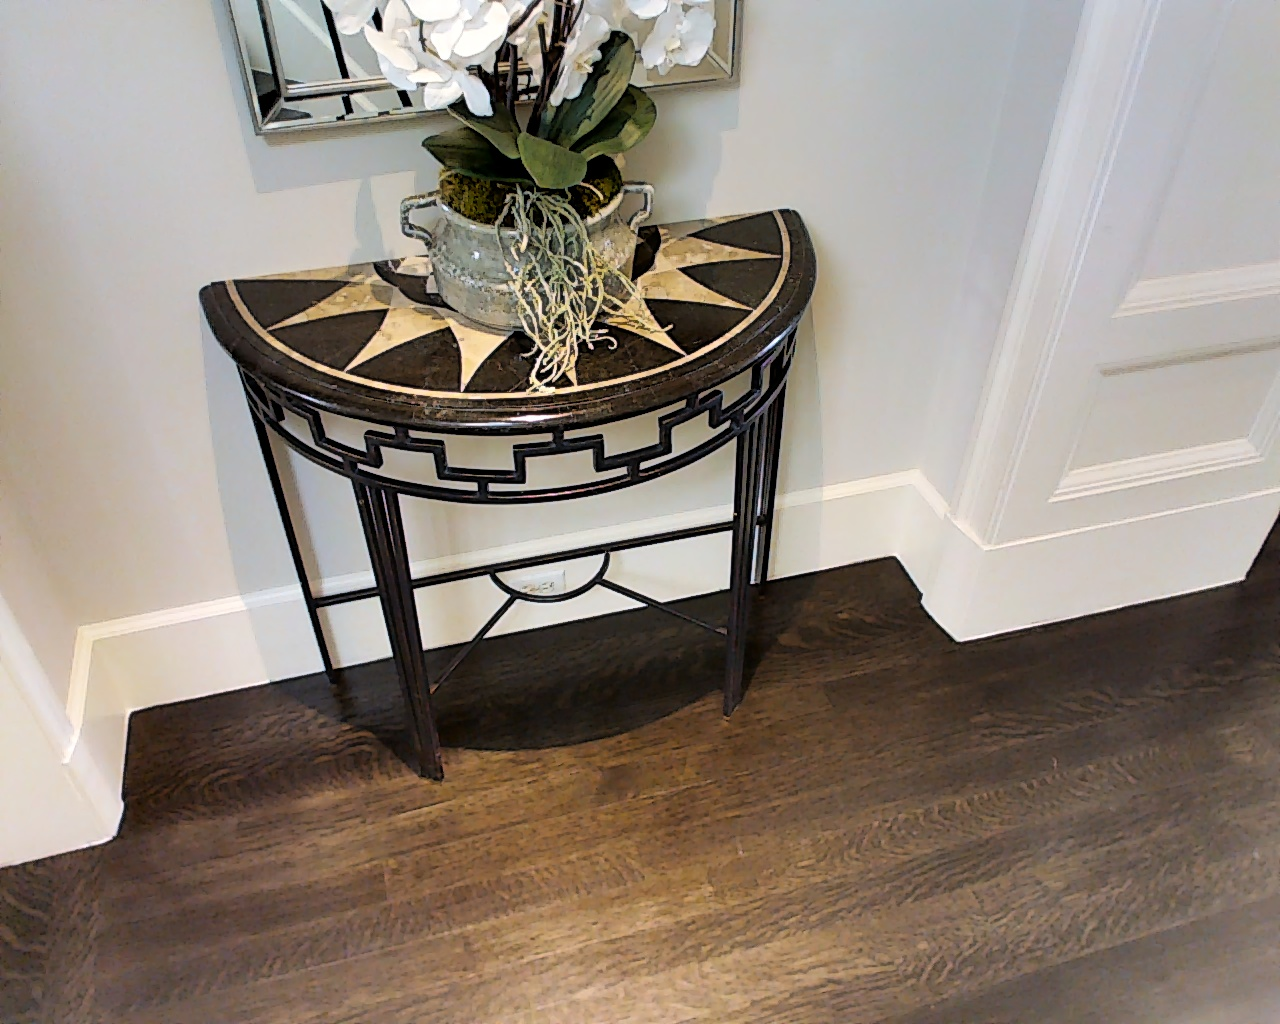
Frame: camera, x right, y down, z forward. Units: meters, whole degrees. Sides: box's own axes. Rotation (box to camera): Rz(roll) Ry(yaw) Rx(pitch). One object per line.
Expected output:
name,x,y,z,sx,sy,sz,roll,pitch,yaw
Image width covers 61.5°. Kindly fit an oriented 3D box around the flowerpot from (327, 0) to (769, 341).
flowerpot,-0.130,-0.580,1.260,0.450,0.590,0.370,-10,43,-12
